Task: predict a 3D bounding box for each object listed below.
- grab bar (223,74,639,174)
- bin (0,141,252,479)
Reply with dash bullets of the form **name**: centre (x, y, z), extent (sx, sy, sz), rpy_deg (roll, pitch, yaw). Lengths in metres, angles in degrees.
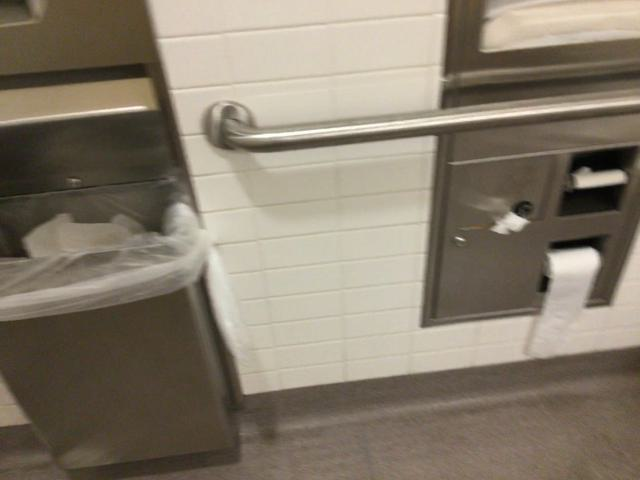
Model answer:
- **grab bar**: centre (0.450, -0.210, 0.890), extent (1.190, 0.050, 0.080), rpy_deg (-6, 39, -1)
- **bin**: centre (-0.400, 0.200, 1.190), extent (0.420, 0.670, 0.350), rpy_deg (-6, 39, -1)
